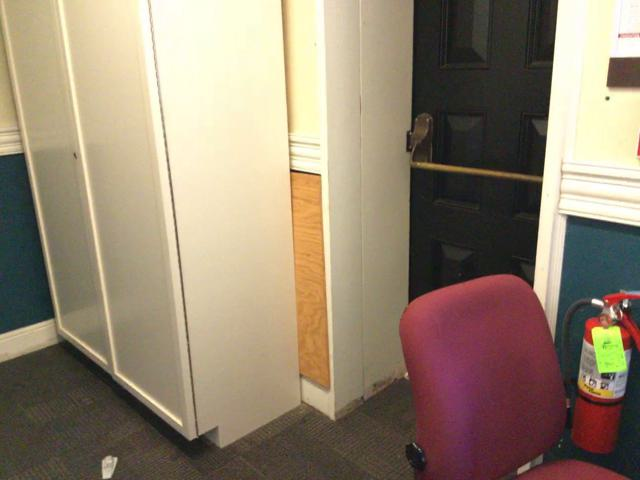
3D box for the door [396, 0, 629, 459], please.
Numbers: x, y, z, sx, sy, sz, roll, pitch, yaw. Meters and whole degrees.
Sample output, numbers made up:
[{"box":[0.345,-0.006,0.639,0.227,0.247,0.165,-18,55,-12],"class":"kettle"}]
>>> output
[{"box":[0.610,-0.130,2.070,0.150,1.690,0.740,-18,23,-41],"class":"door"}]
